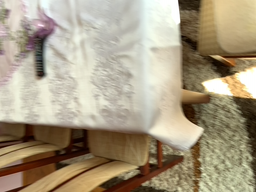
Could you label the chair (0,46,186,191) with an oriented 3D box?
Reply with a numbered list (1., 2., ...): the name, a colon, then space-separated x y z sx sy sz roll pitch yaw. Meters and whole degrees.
1. chair: -0.110 0.160 1.040 0.410 0.950 0.540 -6 86 37
